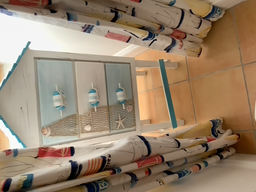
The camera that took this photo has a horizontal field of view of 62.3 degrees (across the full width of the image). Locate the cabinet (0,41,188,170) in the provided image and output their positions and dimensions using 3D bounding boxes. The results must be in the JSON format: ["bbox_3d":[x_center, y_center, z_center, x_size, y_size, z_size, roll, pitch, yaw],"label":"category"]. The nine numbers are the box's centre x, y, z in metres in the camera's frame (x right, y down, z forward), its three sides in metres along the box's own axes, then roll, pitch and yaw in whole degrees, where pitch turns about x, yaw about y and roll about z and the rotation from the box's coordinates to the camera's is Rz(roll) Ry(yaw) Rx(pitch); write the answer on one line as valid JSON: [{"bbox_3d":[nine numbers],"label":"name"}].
[{"bbox_3d":[-0.160,0.020,1.100,0.360,0.960,0.420,-9,86,53],"label":"cabinet"}]
